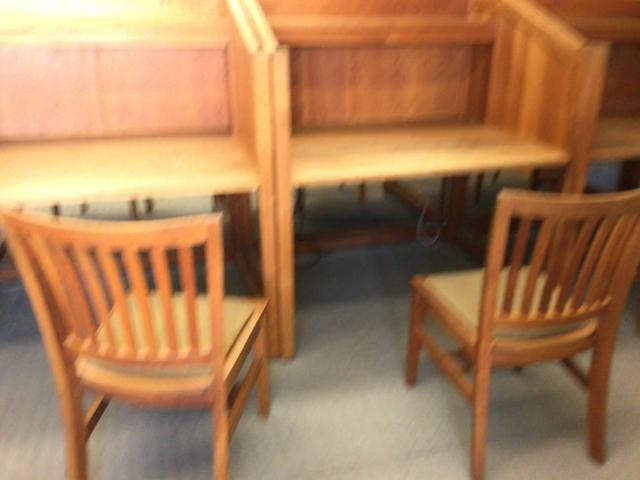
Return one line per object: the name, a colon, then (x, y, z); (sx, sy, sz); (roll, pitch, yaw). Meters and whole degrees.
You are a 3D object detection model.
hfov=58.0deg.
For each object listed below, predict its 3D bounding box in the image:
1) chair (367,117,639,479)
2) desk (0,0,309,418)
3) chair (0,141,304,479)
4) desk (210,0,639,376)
chair: (0.580, 0.170, 1.800); (0.580, 0.960, 0.650); (0, 21, -15)
desk: (-0.850, -0.270, 2.240); (1.320, 1.480, 1.010); (0, 21, -15)
chair: (-0.440, 0.280, 1.570); (0.710, 0.930, 0.600); (5, 21, -2)
desk: (0.300, -0.400, 2.550); (1.440, 1.510, 1.080); (0, 21, -15)
